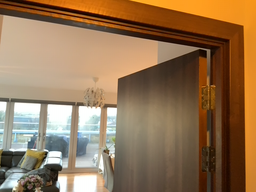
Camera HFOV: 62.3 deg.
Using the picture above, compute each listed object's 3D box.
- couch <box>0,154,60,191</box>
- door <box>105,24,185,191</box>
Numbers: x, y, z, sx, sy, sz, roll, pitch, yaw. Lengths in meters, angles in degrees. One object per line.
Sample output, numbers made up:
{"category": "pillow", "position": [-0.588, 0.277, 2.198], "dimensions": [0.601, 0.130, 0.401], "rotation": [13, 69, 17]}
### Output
{"category": "couch", "position": [-1.890, 1.630, 4.120], "dimensions": [1.040, 0.740, 1.330], "rotation": [4, -6, -18]}
{"category": "door", "position": [0.030, 0.710, 1.210], "dimensions": [0.070, 2.000, 0.790], "rotation": [4, -6, -25]}
